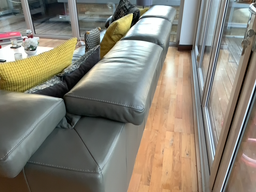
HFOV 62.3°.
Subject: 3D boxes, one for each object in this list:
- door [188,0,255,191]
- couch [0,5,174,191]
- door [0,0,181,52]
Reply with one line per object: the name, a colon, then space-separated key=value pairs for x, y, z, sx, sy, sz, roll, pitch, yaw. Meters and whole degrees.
door: x=0.460 y=-0.220 z=0.780 sx=0.130 sy=2.080 sz=5.310 roll=7 pitch=31 yaw=11
couch: x=-0.180 y=-0.270 z=2.060 sx=1.040 sy=0.750 sz=3.020 roll=6 pitch=31 yaw=11
door: x=-1.030 y=-1.940 z=3.670 sx=3.860 sy=2.160 sz=0.080 roll=6 pitch=31 yaw=10
